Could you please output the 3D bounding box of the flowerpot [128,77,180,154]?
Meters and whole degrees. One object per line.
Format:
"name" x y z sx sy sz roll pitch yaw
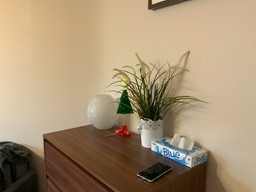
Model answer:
"flowerpot" 0.120 0.080 1.060 0.130 0.330 0.220 -6 12 -38
